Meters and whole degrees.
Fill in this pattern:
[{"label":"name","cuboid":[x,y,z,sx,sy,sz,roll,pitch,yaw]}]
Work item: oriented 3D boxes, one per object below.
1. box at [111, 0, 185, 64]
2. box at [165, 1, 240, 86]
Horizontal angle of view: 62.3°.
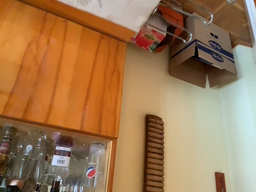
[{"label":"box","cuboid":[0.140,-0.500,1.520,0.400,0.320,0.320,16,153,-22]},{"label":"box","cuboid":[0.590,-0.400,1.720,0.500,0.440,0.280,18,152,-26]}]
